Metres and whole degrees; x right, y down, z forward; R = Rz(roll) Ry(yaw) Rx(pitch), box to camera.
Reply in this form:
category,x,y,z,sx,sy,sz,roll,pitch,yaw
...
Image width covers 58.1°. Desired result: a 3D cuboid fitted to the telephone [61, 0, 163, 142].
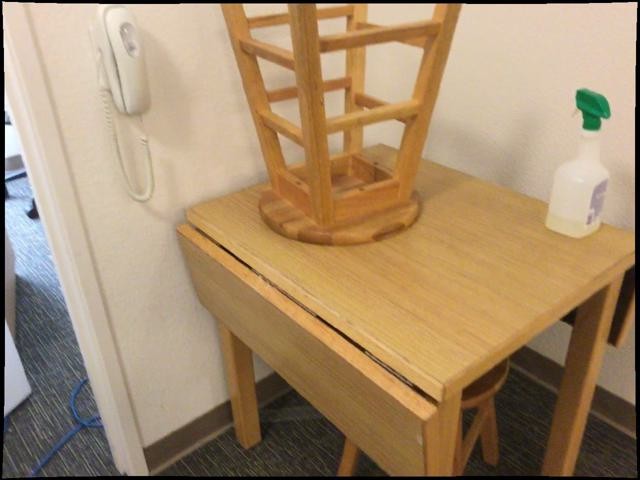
category,x,y,z,sx,sy,sz,roll,pitch,yaw
telephone,-0.399,-0.331,1.120,0.110,0.240,0.090,-25,37,-32
